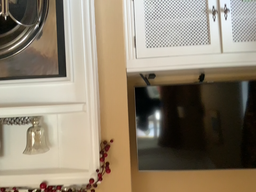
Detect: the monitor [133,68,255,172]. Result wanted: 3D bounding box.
[{"bbox_3d":[0.630,0.180,1.570,1.160,0.740,0.060,-1,178,5],"label":"monitor"}]
